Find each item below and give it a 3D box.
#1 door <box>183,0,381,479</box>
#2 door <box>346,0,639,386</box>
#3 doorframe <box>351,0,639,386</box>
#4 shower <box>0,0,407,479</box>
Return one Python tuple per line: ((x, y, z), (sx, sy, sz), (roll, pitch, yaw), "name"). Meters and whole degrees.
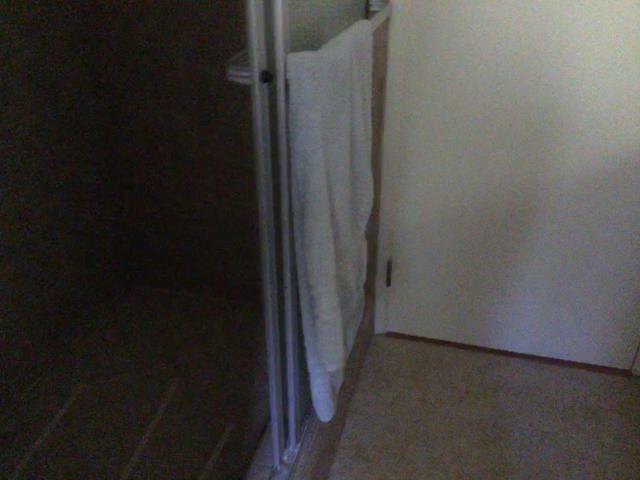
((-0.020, -0.090, 1.300), (0.140, 0.960, 0.730), (9, 32, 13), "door")
((0.520, -0.110, 1.570), (0.860, 1.050, 0.120), (9, 32, 13), "door")
((0.570, -0.090, 1.550), (0.940, 1.030, 0.090), (9, 32, 13), "doorframe")
((-0.440, 0.080, 1.140), (0.930, 1.200, 1.550), (9, 32, 13), "shower")
